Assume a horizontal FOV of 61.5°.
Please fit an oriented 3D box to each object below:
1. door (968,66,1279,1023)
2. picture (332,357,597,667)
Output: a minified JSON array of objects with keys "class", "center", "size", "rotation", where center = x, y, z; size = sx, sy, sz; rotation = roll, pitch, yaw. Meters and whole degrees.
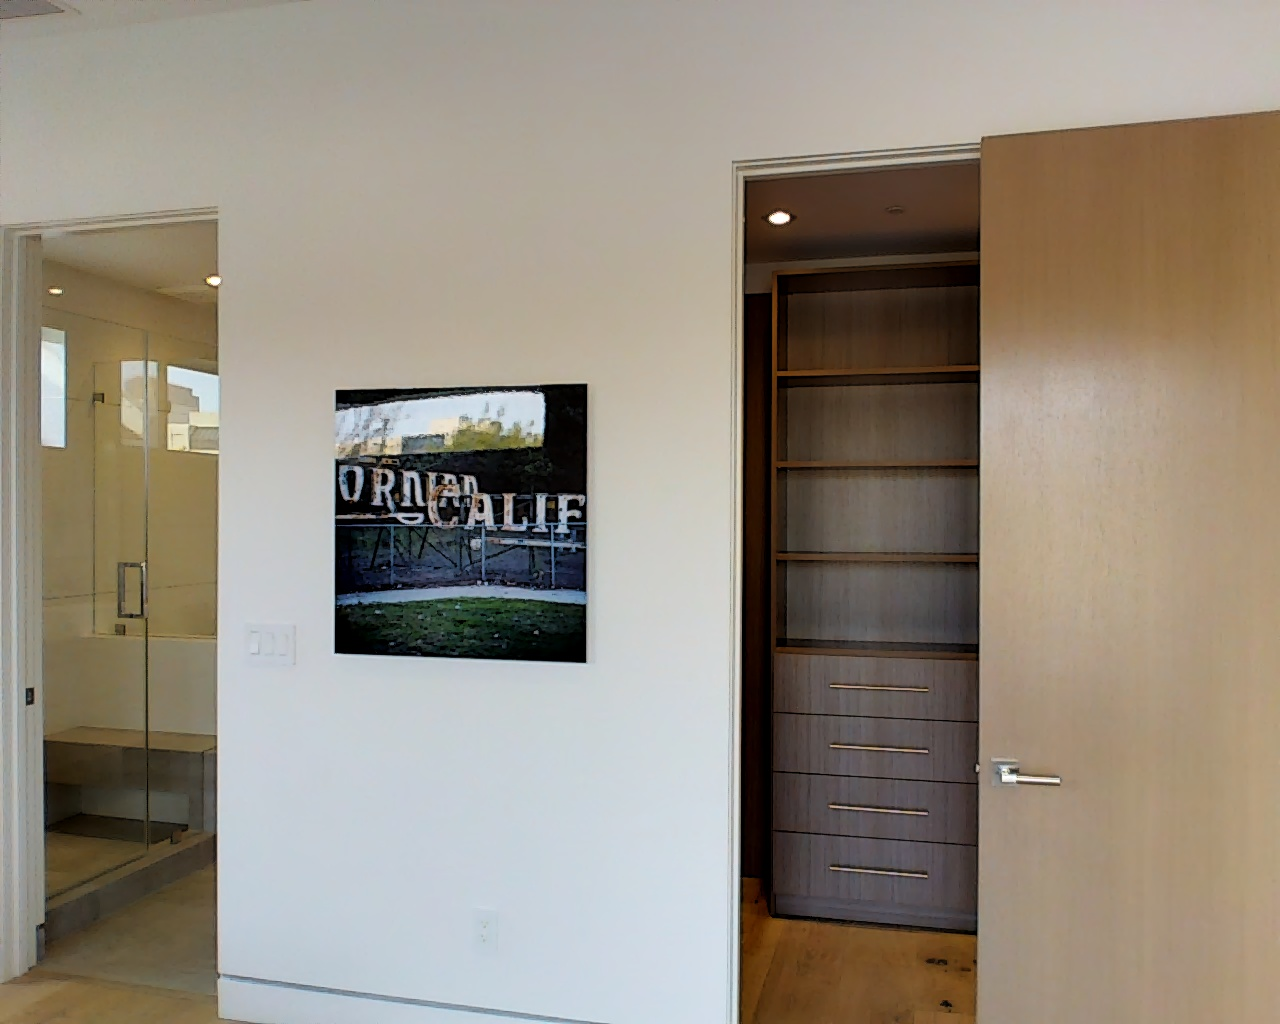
[{"class":"door","center":[1.219,0.280,2.490],"size":[0.880,2.551,0.040],"rotation":[0,0,18]},{"class":"picture","center":[-0.510,0.000,3.060],"size":[0.800,0.850,0.030],"rotation":[0,0,14]}]
